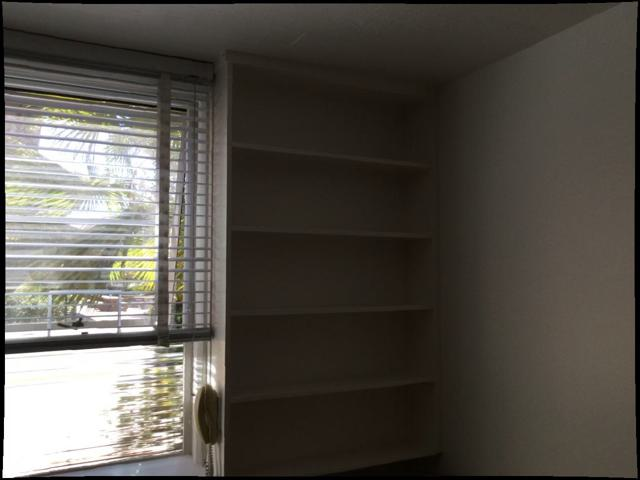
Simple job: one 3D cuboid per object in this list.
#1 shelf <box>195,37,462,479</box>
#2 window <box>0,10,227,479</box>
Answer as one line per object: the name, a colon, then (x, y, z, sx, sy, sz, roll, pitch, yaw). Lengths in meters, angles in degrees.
shelf: (0.050, 0.120, 2.310, 1.009, 1.612, 0.310, 0, -2, -28)
window: (-1.209, 0.070, 1.840, 1.779, 1.572, 0.310, 0, -2, -28)
